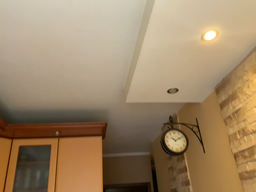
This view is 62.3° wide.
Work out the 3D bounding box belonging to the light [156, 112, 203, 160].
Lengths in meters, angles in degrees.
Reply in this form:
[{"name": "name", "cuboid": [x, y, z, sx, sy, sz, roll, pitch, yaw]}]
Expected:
[{"name": "light", "cuboid": [0.410, 0.320, 1.660, 0.210, 0.260, 0.240, 42, 44, -21]}]
